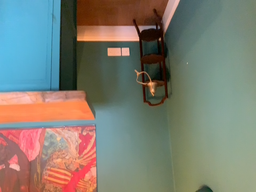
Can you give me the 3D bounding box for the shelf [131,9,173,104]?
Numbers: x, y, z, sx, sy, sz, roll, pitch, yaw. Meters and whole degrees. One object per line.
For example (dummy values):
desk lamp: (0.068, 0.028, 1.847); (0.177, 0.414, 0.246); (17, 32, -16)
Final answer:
shelf: (0.220, -0.390, 2.140); (0.300, 0.900, 0.300); (-2, 168, -5)
